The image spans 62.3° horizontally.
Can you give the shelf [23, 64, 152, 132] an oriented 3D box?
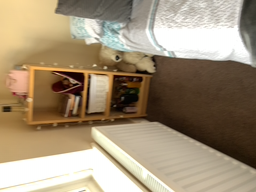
[{"bbox_3d":[-0.310,0.000,1.840,0.310,1.020,0.430,23,109,51],"label":"shelf"}]
